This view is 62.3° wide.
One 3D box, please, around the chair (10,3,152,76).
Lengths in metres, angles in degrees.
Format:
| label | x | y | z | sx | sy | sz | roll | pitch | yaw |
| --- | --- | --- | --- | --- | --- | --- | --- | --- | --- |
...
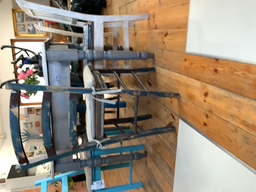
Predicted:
| label | x | y | z | sx | sy | sz | roll | pitch | yaw |
| --- | --- | --- | --- | --- | --- | --- | --- | --- | --- |
| chair | -0.330 | -0.410 | 1.630 | 0.420 | 0.910 | 0.430 | -141 | 51 | -68 |
